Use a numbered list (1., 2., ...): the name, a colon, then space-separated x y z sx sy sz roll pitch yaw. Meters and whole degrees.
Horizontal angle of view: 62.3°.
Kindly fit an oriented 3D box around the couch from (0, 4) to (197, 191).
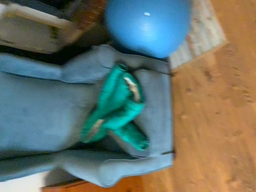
1. couch: -0.260 0.120 1.380 1.000 0.980 0.750 -4 84 45
